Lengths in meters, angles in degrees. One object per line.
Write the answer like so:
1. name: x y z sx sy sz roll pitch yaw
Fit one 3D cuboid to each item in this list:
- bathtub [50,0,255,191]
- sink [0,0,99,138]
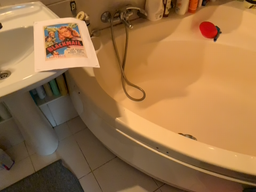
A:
1. bathtub: 0.550 0.080 1.280 1.450 0.580 1.410 -25 57 -20
2. sink: -0.500 -0.120 0.810 0.600 0.220 0.490 -25 57 -20
